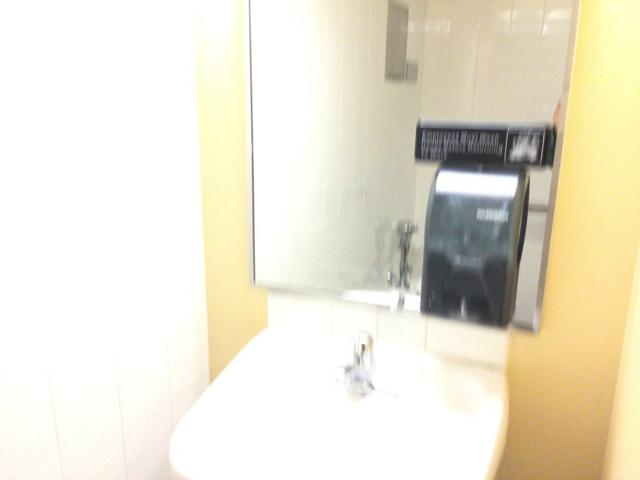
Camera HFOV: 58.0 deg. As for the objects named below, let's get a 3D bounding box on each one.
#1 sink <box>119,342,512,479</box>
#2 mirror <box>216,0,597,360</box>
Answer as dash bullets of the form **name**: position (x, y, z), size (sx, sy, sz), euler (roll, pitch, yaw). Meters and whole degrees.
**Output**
- **sink**: position (0.020, 0.400, 1.010), size (0.560, 0.190, 0.410), euler (8, 16, 19)
- **mirror**: position (0.120, -0.180, 1.100), size (0.660, 0.700, 0.110), euler (8, 16, 19)
